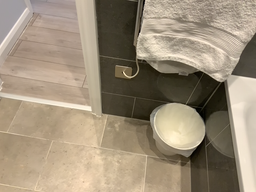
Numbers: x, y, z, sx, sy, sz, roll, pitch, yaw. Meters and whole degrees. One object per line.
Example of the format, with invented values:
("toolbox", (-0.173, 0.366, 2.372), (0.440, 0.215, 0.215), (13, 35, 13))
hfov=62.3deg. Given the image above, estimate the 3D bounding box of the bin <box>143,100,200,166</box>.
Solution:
("bin", (0.250, 0.220, 1.250), (0.260, 0.250, 0.260), (11, 56, 2))
